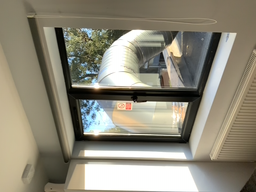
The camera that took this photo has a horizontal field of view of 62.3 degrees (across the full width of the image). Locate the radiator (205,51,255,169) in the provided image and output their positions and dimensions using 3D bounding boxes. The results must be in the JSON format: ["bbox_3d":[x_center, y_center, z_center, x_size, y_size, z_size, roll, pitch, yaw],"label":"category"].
[{"bbox_3d":[1.110,0.210,1.870,0.170,0.500,1.220,-90,2,-53],"label":"radiator"}]
